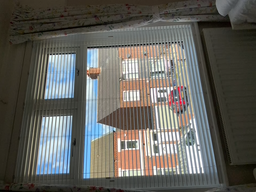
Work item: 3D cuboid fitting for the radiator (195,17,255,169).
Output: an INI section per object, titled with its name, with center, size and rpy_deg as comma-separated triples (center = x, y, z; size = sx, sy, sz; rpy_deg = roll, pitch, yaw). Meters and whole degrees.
[radiator]
center = 1.020, -0.090, 1.770
size = 0.170, 0.660, 1.280
rpy_deg = 85, -178, -68
